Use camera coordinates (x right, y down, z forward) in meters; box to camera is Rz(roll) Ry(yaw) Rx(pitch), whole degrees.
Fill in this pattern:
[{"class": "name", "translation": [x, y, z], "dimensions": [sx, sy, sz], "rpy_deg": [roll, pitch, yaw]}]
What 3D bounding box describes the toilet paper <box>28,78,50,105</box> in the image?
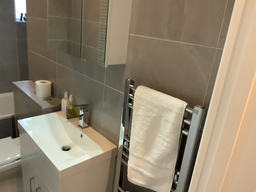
[{"class": "toilet paper", "translation": [-0.720, -0.040, 1.720], "dimensions": [0.110, 0.170, 0.160], "rpy_deg": [-11, 26, -41]}]
